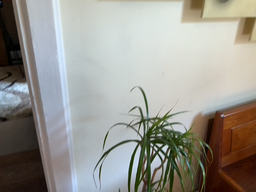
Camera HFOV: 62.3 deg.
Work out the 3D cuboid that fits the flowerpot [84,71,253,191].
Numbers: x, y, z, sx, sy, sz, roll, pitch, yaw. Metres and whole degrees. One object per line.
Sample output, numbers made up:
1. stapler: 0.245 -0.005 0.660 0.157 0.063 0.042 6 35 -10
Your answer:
1. flowerpot: 0.090 0.500 1.040 0.440 1.110 0.460 -10 29 -23
